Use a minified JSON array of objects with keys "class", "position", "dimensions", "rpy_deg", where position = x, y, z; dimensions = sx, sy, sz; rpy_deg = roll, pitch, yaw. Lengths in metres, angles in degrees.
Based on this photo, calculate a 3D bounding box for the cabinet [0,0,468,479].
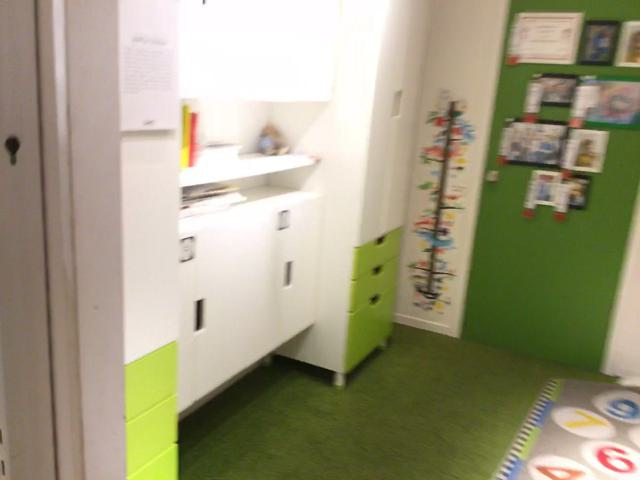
[{"class":"cabinet","position":[-0.280,-0.150,2.100],"dimensions":[0.650,2.000,2.370],"rpy_deg":[14,18,30]}]
